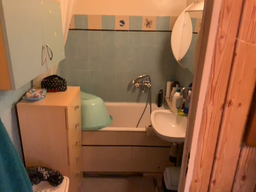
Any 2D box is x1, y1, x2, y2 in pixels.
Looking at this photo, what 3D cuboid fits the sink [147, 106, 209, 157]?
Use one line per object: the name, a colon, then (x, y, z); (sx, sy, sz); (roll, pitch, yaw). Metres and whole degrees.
sink: (0.390, 0.280, 1.810); (0.400, 0.190, 0.500); (1, 21, 0)
